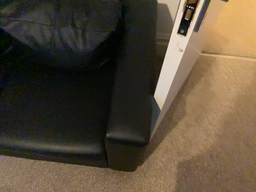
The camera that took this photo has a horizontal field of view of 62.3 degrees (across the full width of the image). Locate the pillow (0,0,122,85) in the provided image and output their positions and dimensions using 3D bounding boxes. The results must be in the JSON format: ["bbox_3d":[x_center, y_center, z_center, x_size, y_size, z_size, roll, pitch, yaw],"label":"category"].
[{"bbox_3d":[-0.290,-0.290,1.010,0.490,0.370,0.260,6,60,1],"label":"pillow"}]
